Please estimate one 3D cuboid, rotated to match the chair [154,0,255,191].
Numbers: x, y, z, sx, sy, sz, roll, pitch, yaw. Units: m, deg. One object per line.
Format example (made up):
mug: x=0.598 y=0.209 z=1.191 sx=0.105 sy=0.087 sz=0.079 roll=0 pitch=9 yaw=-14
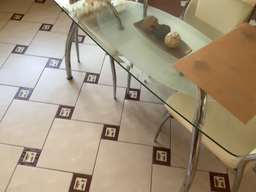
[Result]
chair: x=0.520 y=0.040 z=0.960 sx=0.370 sy=0.970 sz=0.560 roll=-31 pitch=61 yaw=-24
